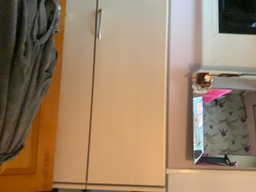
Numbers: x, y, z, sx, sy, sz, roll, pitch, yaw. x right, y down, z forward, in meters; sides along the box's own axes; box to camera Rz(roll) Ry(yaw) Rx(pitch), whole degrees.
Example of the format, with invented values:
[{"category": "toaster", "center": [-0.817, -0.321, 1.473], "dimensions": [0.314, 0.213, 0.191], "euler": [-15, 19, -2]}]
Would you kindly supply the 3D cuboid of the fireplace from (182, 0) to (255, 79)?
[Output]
[{"category": "fireplace", "center": [1.050, -0.750, 2.010], "dimensions": [0.970, 1.120, 0.360], "euler": [2, 175, 0]}]
